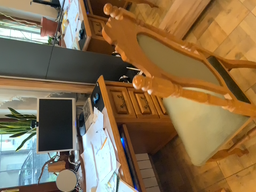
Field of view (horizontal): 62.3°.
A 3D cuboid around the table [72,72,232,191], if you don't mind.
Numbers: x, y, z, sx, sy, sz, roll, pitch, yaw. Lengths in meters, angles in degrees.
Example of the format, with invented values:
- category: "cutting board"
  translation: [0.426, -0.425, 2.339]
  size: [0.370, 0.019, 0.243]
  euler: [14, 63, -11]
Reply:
- category: "table"
  translation: [0.120, 0.630, 1.650]
  size: [0.800, 0.750, 1.380]
  euler: [-54, 43, 43]

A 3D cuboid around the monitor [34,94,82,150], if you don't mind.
- category: "monitor"
  translation: [-0.560, 0.220, 1.750]
  size: [0.030, 0.350, 0.430]
  euler: [-26, 60, 53]

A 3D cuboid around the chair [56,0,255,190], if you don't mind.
- category: "chair"
  translation: [0.300, 0.030, 1.050]
  size: [0.570, 1.120, 0.470]
  euler: [-57, 42, 41]
